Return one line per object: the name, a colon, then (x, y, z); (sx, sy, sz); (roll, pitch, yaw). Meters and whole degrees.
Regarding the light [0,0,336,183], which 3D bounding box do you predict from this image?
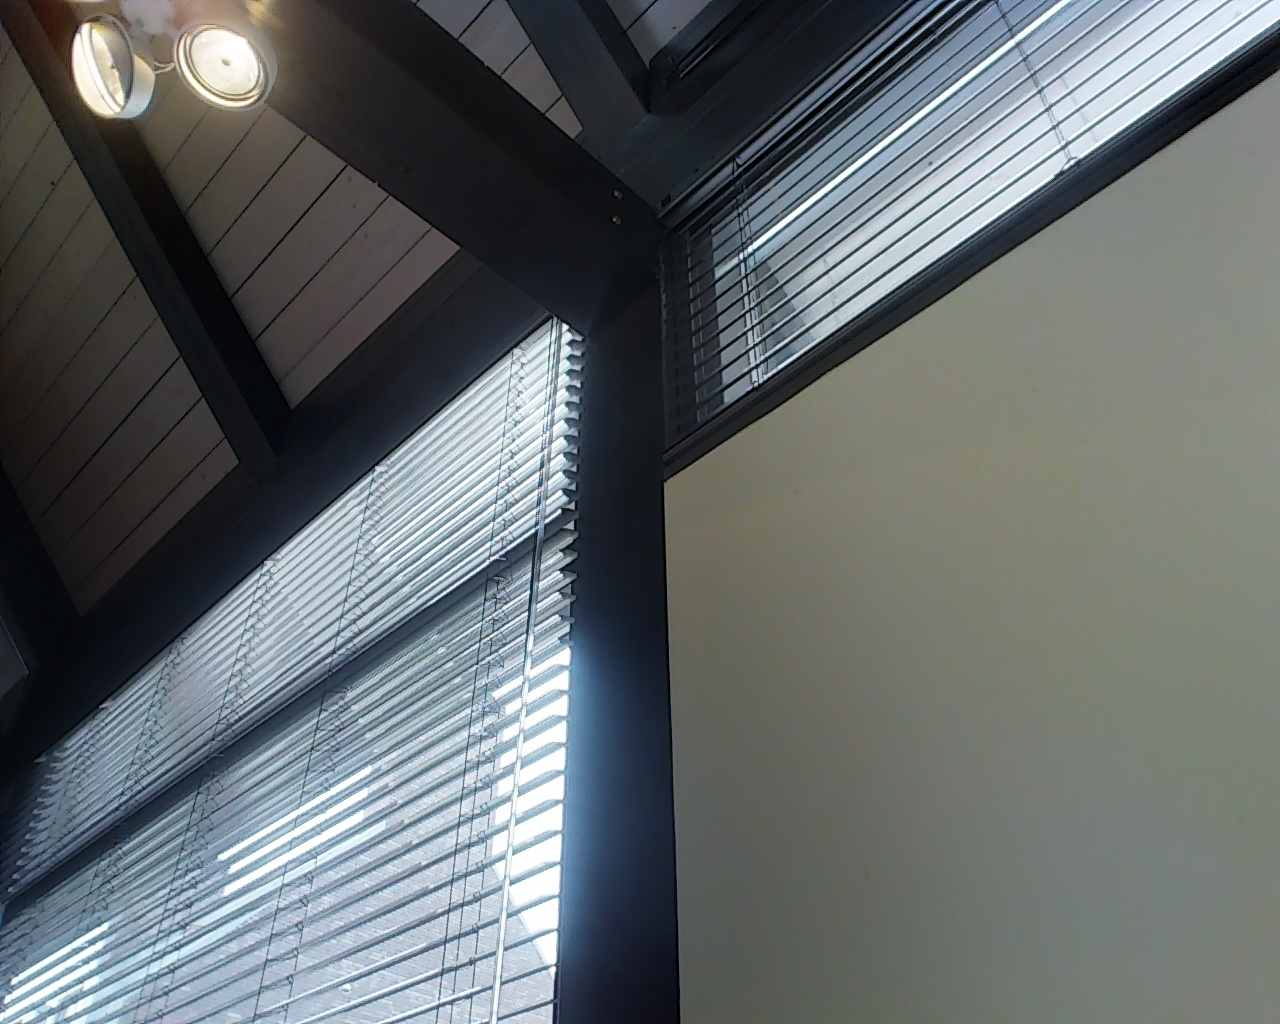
light: (-0.630, -0.690, 1.440); (0.330, 0.340, 0.180); (33, -6, -31)
